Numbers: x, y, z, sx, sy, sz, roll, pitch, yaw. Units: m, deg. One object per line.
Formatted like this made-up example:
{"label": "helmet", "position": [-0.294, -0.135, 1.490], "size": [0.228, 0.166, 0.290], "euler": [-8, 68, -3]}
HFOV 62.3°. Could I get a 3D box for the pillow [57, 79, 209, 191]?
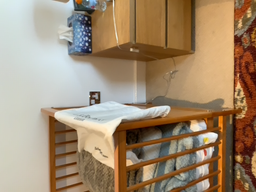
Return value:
{"label": "pillow", "position": [-0.030, 0.250, 1.140], "size": [0.700, 0.460, 0.660], "euler": [7, 96, 52]}
